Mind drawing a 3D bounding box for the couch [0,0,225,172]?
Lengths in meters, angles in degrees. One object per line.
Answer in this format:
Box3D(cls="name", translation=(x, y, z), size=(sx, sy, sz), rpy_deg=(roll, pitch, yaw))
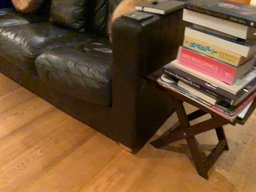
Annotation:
Box3D(cls="couch", translation=(-0.480, -0.510, 1.570), size=(1.920, 0.750, 0.940), rpy_deg=(26, 41, 28))
